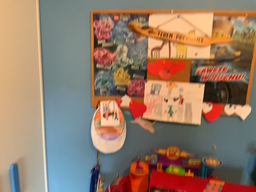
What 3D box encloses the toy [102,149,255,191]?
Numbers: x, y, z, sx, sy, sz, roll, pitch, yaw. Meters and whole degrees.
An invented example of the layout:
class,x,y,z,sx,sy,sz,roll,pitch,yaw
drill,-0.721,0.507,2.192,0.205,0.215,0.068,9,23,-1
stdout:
class,x,y,z,sx,sy,sz,roll,pitch,yaw
toy,0.270,0.440,0.980,0.710,0.180,0.370,3,13,6
